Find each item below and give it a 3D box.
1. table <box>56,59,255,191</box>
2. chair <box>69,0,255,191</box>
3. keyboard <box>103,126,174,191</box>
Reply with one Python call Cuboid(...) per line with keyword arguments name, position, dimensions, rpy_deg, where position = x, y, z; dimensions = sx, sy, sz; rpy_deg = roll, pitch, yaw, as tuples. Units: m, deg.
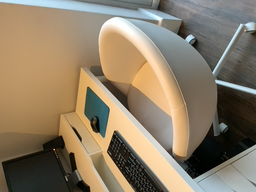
Cuboid(name="table", position=(0.230, 0.350, 1.210), dimensions=(1.230, 0.820, 0.610), rpy_deg=(45, 131, 38))
Cuboid(name="chair", position=(0.250, -0.070, 1.090), dimensions=(0.710, 0.810, 0.680), rpy_deg=(45, 132, 39))
Cuboid(name="keyboard", position=(0.040, 0.330, 0.920), dimensions=(0.460, 0.060, 0.130), rpy_deg=(44, 131, 39))
